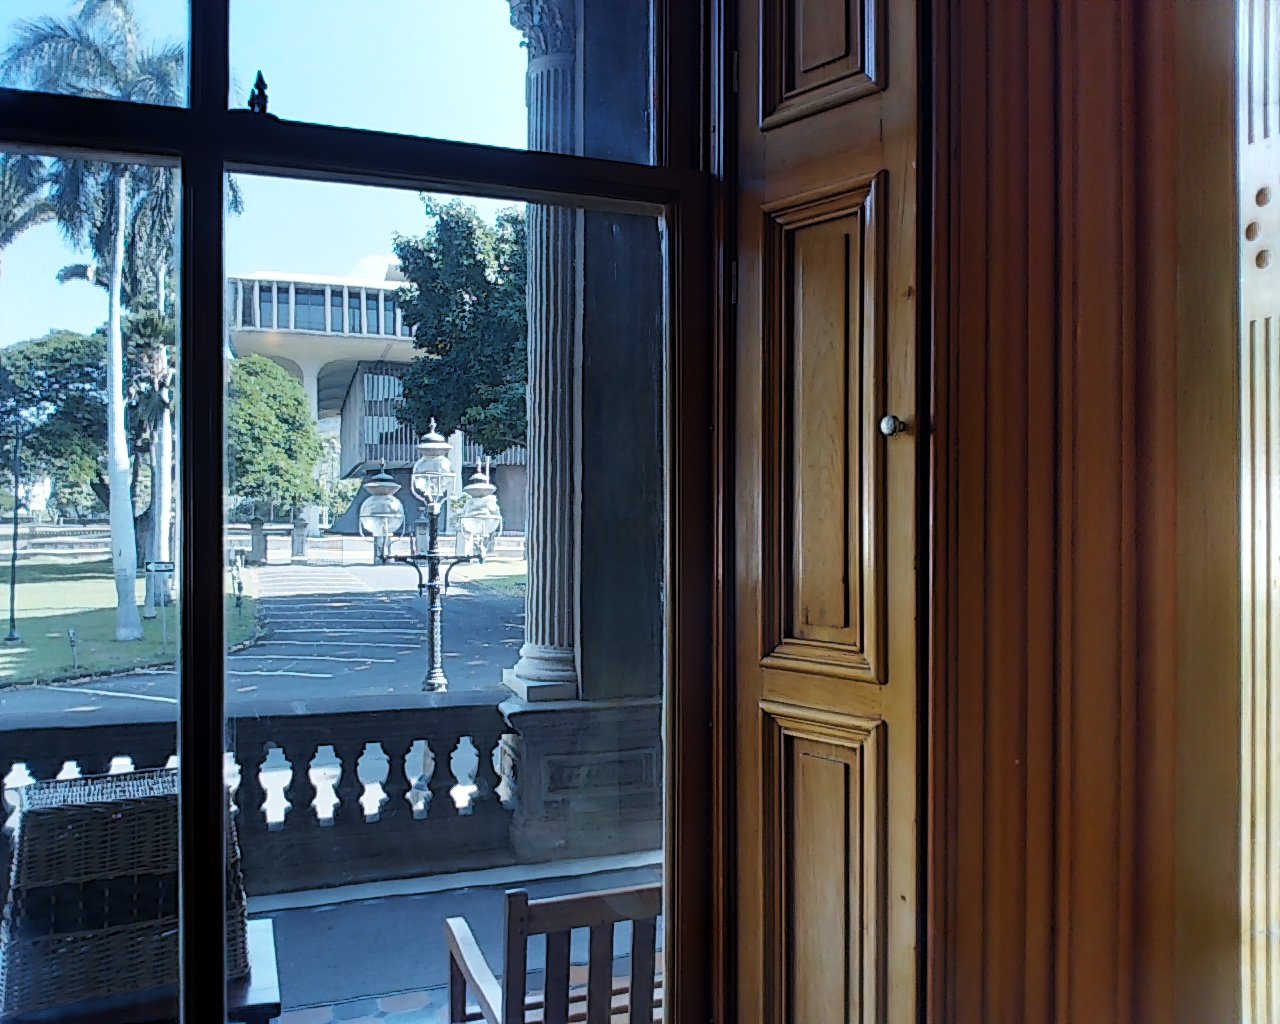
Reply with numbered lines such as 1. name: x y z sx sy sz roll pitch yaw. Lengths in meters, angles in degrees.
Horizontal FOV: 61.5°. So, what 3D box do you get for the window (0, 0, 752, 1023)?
1. window: -0.510 -0.170 1.280 1.330 3.340 0.160 0 0 -20
